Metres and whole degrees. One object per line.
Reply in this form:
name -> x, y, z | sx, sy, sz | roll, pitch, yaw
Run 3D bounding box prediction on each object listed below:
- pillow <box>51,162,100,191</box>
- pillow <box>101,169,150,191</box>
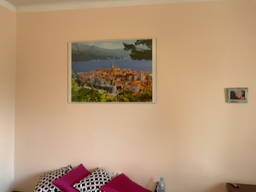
pillow -> -0.530, 0.840, 2.200 | 0.340, 0.170, 0.390 | 0, -1, 16
pillow -> -0.010, 0.900, 2.070 | 0.350, 0.200, 0.380 | 0, -1, 24
